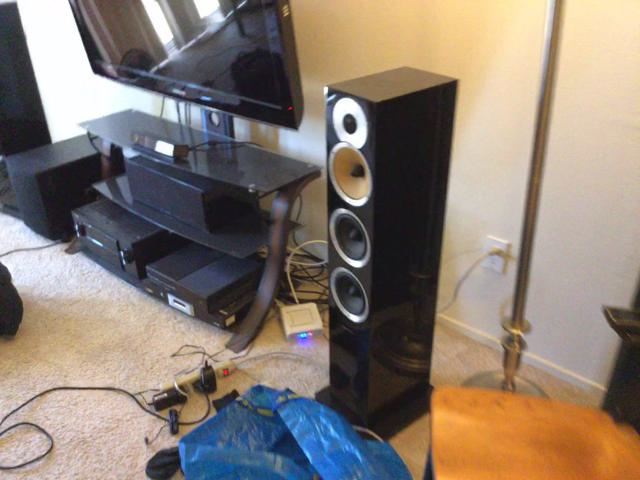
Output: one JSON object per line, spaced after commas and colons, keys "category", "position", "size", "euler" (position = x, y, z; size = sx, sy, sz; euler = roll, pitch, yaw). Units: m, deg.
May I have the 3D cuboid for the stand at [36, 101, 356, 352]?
{"category": "stand", "position": [-0.540, -0.150, 2.350], "size": [1.210, 0.620, 0.560], "euler": [19, 25, 34]}
